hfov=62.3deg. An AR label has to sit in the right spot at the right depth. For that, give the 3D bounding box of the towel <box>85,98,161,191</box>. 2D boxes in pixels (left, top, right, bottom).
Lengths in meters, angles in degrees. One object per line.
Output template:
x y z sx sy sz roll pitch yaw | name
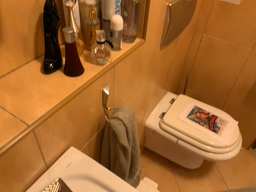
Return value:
-0.030 0.310 0.920 0.170 0.570 0.210 28 47 23 | towel

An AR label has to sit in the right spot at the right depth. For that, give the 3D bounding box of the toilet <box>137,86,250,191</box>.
0.410 0.310 1.430 0.530 0.470 0.380 25 46 20 | toilet
